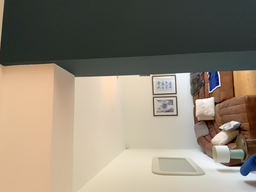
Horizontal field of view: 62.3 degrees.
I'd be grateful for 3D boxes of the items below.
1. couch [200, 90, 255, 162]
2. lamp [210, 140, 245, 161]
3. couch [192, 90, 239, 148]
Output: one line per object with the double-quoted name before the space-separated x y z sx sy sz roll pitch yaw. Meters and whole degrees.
"couch" 1.970 0.570 4.140 1.340 0.750 1.170 49 -140 -80
"lamp" 1.470 0.810 3.170 0.260 0.390 0.280 53 -144 -79
"couch" 2.090 0.570 5.230 0.810 0.740 1.180 -82 -11 -55
